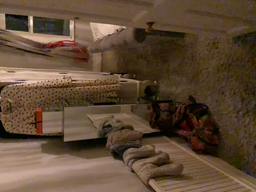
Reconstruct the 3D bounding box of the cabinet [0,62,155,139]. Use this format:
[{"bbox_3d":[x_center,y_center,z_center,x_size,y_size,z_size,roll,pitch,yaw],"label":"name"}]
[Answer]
[{"bbox_3d":[-1.210,-0.130,3.460,2.640,2.190,0.740,-163,73,-64],"label":"cabinet"}]
